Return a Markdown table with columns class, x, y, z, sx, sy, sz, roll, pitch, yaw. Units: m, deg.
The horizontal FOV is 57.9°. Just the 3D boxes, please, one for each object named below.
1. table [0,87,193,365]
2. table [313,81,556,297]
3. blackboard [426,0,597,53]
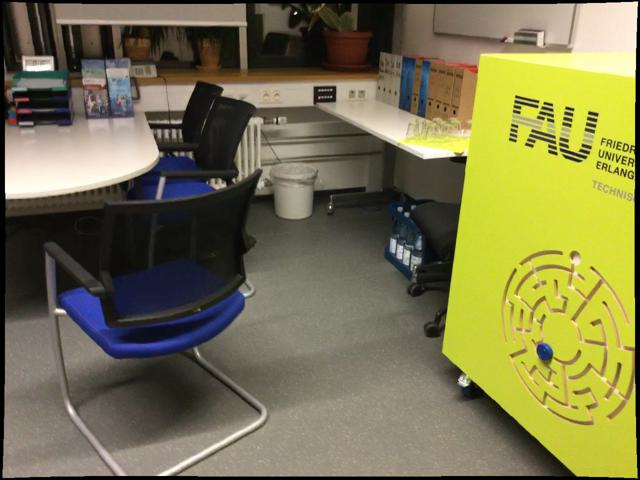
| class | x | y | z | sx | sy | sz | roll | pitch | yaw |
| --- | --- | --- | --- | --- | --- | --- | --- | --- | --- |
| table | -1.279 | -0.190 | 2.720 | 1.049 | 0.751 | 1.510 | -8 | 26 | -19 |
| table | 0.529 | -0.400 | 3.350 | 0.679 | 0.781 | 1.410 | -8 | 26 | -20 |
| blackboard | 0.919 | -1.431 | 2.870 | 0.120 | 0.831 | 1.180 | -8 | 26 | -19 |
